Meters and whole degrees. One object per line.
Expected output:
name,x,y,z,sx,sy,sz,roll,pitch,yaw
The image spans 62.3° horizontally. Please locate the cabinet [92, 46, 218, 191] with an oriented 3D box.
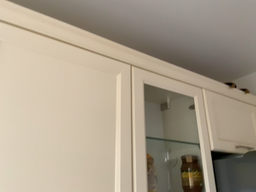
cabinet,0.130,0.310,1.090,0.500,0.940,0.350,14,-26,-33
